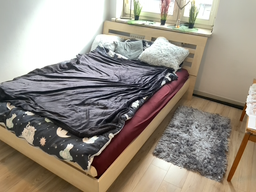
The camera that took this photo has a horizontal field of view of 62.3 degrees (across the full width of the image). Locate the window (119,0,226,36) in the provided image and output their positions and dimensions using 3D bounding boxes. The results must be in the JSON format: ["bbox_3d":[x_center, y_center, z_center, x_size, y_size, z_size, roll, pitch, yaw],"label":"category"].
[{"bbox_3d":[0.610,-1.760,2.930,1.570,1.540,0.130,18,32,24],"label":"window"}]
